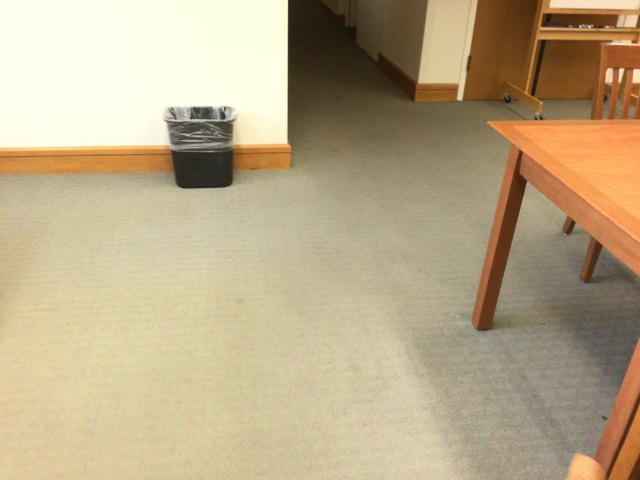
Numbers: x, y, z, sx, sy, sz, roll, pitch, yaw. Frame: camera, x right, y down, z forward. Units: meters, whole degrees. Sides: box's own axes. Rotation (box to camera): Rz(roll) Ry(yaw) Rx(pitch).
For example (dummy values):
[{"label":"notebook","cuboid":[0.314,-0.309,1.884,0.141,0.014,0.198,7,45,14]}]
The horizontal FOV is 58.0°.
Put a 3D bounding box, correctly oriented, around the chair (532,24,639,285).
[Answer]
[{"label":"chair","cuboid":[1.290,-0.360,2.390,0.530,0.890,0.610,5,30,7]}]
